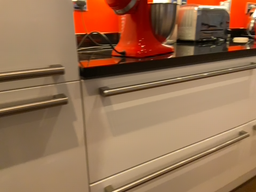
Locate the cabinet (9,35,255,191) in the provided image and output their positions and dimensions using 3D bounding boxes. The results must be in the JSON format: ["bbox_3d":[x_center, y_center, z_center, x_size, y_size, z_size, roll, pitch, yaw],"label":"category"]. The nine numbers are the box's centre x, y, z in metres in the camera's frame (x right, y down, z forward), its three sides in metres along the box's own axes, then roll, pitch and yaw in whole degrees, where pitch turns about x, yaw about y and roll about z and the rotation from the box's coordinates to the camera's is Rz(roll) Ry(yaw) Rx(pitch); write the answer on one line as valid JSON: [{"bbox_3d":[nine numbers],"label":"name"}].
[{"bbox_3d":[0.770,0.020,1.650,2.800,0.850,0.840,-12,21,-31],"label":"cabinet"}]
